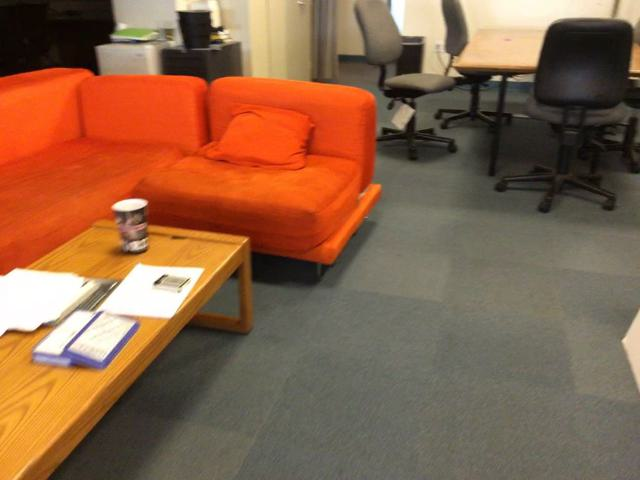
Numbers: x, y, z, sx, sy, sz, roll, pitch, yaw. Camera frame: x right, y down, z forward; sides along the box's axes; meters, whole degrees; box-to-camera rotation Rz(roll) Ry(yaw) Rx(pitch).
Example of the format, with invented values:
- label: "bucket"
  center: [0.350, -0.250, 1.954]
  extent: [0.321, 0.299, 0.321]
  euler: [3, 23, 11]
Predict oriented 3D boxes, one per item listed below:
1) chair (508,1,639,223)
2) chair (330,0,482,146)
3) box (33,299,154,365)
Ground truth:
- label: "chair"
  center: [1.450, -0.740, 3.210]
  extent: [0.590, 1.060, 0.680]
  euler: [9, 24, 22]
- label: "chair"
  center: [0.600, -1.320, 4.200]
  extent: [0.890, 1.070, 0.560]
  euler: [15, 27, 33]
- label: "box"
  center: [-0.570, 0.230, 1.490]
  extent: [0.210, 0.050, 0.220]
  euler: [2, 22, 5]
